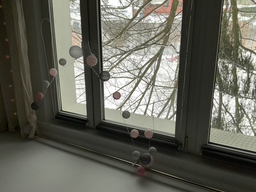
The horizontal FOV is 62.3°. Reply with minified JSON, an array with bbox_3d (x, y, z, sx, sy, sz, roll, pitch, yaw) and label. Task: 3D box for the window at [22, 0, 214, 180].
[{"bbox_3d":[-0.160,-0.340,1.730,1.460,1.520,0.450,10,-161,30],"label":"window"}]
